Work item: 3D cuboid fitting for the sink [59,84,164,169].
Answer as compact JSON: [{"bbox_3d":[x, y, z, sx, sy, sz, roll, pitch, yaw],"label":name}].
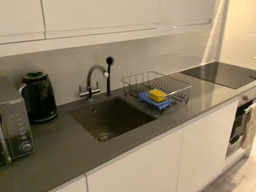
[{"bbox_3d":[-0.100,0.150,1.350,0.520,0.240,0.380,-17,30,-34],"label":"sink"}]
